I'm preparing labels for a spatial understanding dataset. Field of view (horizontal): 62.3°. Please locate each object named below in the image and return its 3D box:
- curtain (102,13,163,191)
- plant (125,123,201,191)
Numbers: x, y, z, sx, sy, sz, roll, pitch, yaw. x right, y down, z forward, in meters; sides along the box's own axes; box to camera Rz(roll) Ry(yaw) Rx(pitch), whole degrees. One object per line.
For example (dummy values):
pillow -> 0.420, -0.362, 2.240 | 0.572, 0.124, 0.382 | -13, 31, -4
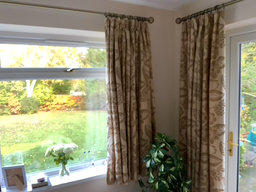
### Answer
curtain -> 0.060, 0.400, 2.080 | 0.540, 2.240, 0.190 | -3, 6, -27
plant -> 0.320, 0.900, 2.060 | 0.510, 1.130, 0.510 | -3, 6, -27
